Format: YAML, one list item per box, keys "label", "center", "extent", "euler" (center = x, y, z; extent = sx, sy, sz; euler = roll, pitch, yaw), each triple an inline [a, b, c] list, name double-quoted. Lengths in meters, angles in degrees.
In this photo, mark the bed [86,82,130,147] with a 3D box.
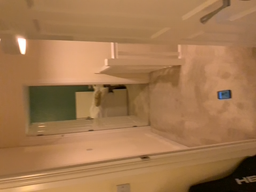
- label: "bed"
  center: [-0.610, 0.380, 5.600]
  extent: [1.950, 0.700, 1.390]
  euler: [-178, 86, -72]
